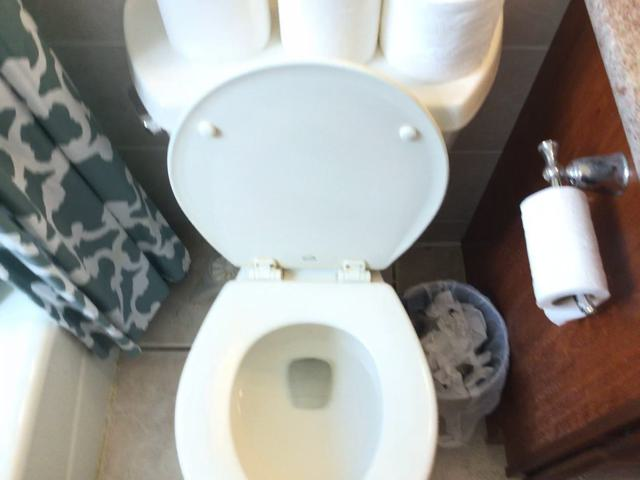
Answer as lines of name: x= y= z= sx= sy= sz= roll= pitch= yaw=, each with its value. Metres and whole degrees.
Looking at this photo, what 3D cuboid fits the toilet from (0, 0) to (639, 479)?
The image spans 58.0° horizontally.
toilet: x=-0.020 y=0.120 z=0.860 sx=0.480 sy=0.780 sz=0.680 roll=1 pitch=61 yaw=-1
